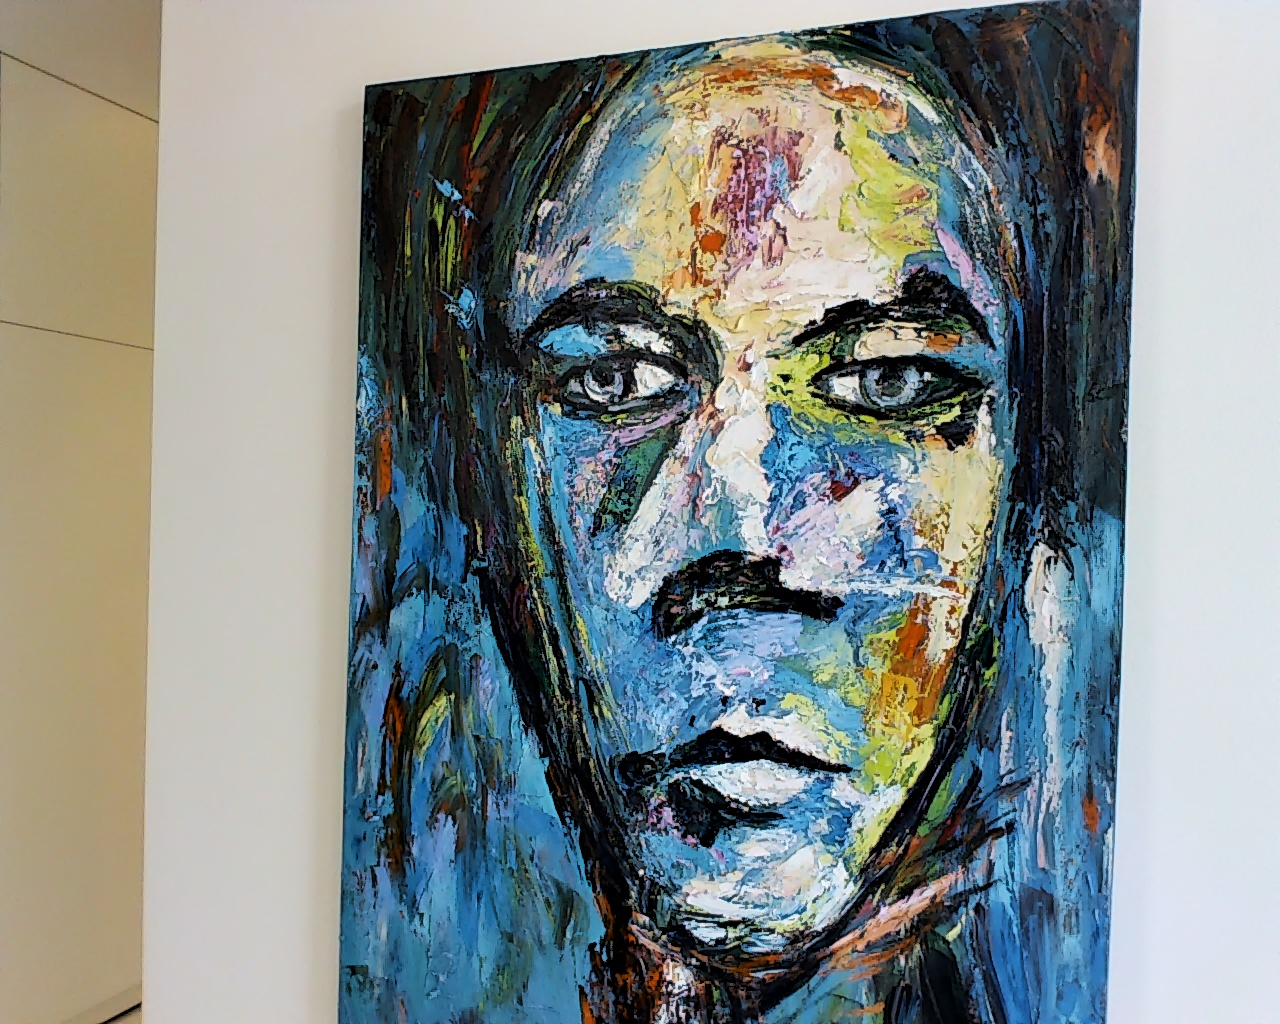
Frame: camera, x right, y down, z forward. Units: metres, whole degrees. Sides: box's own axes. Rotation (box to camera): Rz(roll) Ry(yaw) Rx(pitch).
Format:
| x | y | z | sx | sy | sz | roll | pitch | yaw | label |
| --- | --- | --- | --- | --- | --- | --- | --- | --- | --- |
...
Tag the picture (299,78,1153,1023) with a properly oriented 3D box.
| x | y | z | sx | sy | sz | roll | pitch | yaw | label |
| --- | --- | --- | --- | --- | --- | --- | --- | --- | --- |
| 0.050 | 0.240 | 1.780 | 1.420 | 1.690 | 0.080 | 1 | 0 | 21 | picture |
